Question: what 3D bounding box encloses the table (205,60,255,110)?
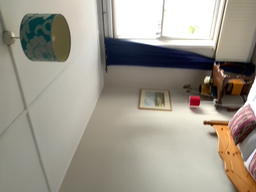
[{"bbox_3d":[1.760,-0.200,3.550,0.630,0.680,0.570,-80,-8,-59],"label":"table"}]
